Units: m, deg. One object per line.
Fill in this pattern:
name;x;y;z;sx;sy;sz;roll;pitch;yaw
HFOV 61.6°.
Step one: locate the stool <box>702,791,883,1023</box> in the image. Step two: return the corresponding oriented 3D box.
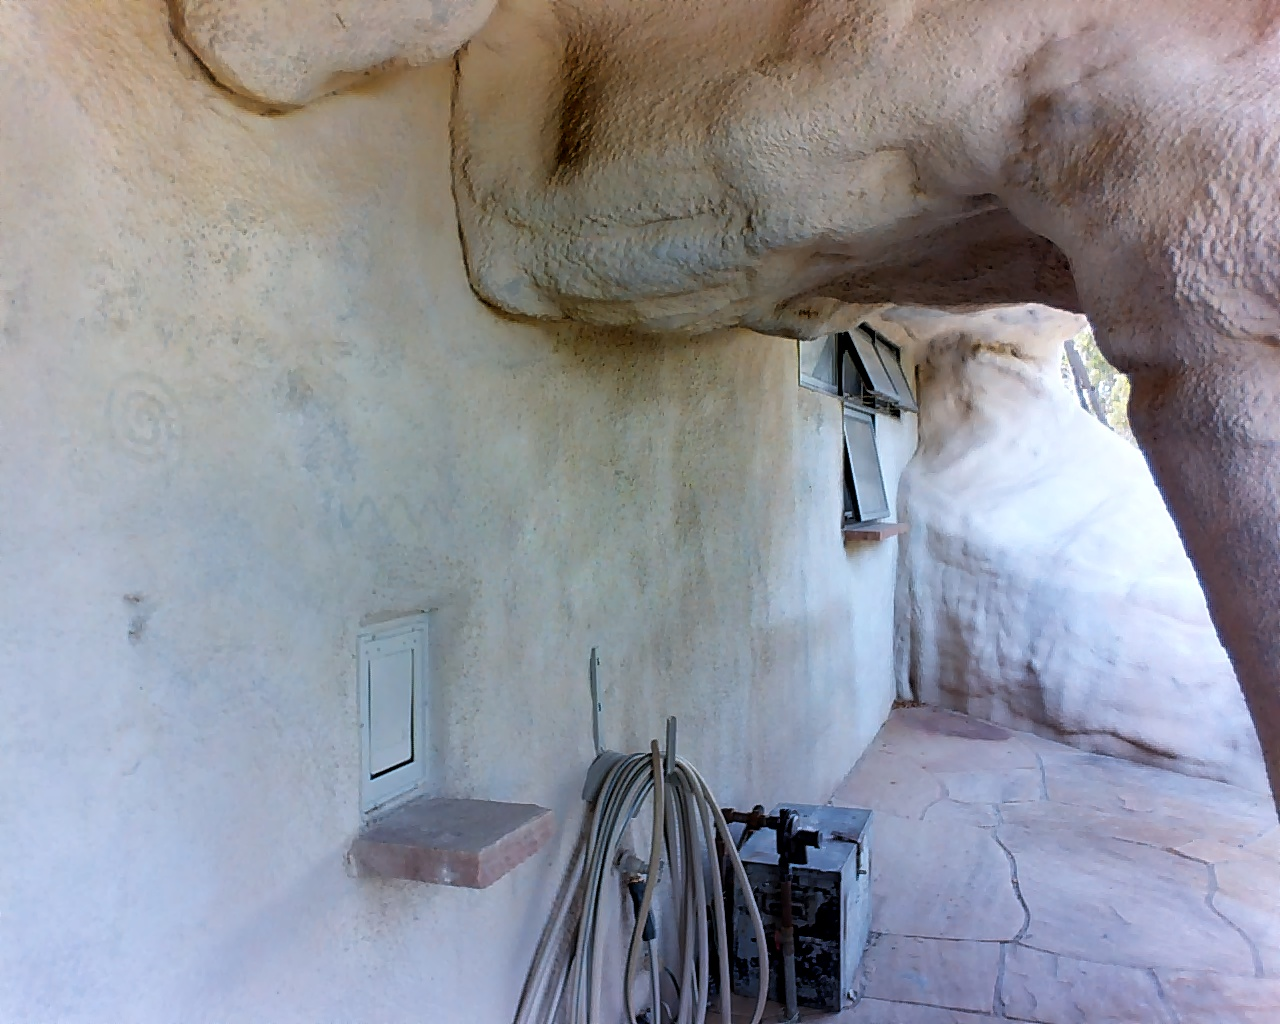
stool;0.470;1.130;3.170;0.380;0.410;0.660;0;1;22
